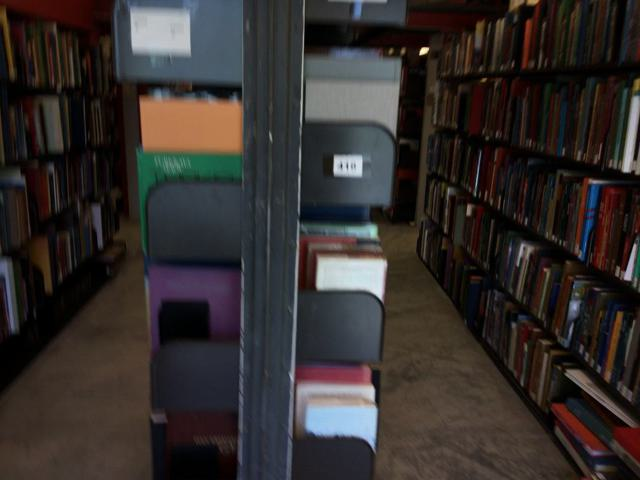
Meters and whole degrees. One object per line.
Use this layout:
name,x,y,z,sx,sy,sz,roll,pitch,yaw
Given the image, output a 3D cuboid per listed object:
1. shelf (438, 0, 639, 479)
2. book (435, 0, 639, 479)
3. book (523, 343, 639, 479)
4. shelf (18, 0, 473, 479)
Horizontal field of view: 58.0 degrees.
shelf,1.130,-0.190,2.470,0.430,1.850,2.570,1,16,-4
book,1.070,-0.200,2.510,0.360,1.830,2.500,1,16,-4
book,0.990,0.660,2.190,0.190,0.330,0.530,1,16,-4
shelf,-0.210,-0.180,2.140,0.800,2.020,2.020,1,16,-4
